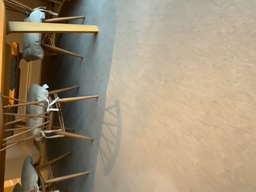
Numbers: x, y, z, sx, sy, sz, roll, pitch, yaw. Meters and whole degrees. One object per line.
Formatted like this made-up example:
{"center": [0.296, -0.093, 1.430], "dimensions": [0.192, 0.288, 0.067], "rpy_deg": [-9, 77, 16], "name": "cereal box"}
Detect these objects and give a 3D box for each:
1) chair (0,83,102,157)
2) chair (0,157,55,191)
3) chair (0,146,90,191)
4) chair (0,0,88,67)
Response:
{"center": [-0.700, 0.150, 1.780], "dimensions": [0.500, 0.770, 0.440], "rpy_deg": [12, 99, 49], "name": "chair"}
{"center": [-1.350, 1.110, 2.500], "dimensions": [0.440, 0.780, 0.500], "rpy_deg": [17, 102, 48], "name": "chair"}
{"center": [-0.840, 0.810, 1.920], "dimensions": [0.500, 0.780, 0.410], "rpy_deg": [24, 107, 47], "name": "chair"}
{"center": [-0.850, -0.580, 1.950], "dimensions": [0.440, 0.780, 0.500], "rpy_deg": [19, 104, 48], "name": "chair"}
